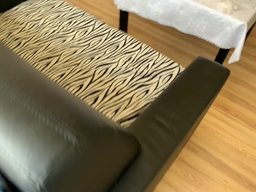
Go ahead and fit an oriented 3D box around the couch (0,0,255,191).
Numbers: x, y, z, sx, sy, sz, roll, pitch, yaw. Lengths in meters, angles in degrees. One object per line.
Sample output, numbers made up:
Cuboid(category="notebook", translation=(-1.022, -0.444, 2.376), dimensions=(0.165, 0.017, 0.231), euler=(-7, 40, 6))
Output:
Cuboid(category="couch", translation=(-0.400, -0.250, 1.100), dimensions=(1.610, 0.910, 0.940), euler=(35, 56, 22))
